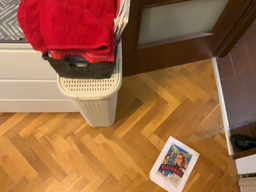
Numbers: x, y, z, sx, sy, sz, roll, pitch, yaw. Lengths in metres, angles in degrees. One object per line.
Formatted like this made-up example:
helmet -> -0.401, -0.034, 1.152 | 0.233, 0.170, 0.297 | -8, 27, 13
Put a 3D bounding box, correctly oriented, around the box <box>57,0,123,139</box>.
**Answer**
box -> -0.180, -0.120, 1.270 | 0.270, 0.600, 0.620 | 0, 67, -4
